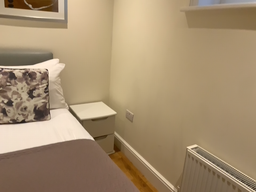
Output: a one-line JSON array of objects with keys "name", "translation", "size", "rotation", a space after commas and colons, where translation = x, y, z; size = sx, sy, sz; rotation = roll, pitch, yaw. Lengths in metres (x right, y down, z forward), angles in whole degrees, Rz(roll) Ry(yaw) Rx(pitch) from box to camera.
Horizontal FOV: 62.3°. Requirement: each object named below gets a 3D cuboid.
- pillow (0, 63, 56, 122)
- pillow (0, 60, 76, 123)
[{"name": "pillow", "translation": [-0.800, -0.020, 1.570], "size": [0.450, 0.400, 0.120], "rotation": [-9, 44, -18]}, {"name": "pillow", "translation": [-0.880, -0.080, 1.760], "size": [0.710, 0.350, 0.590], "rotation": [-6, 20, -32]}]
